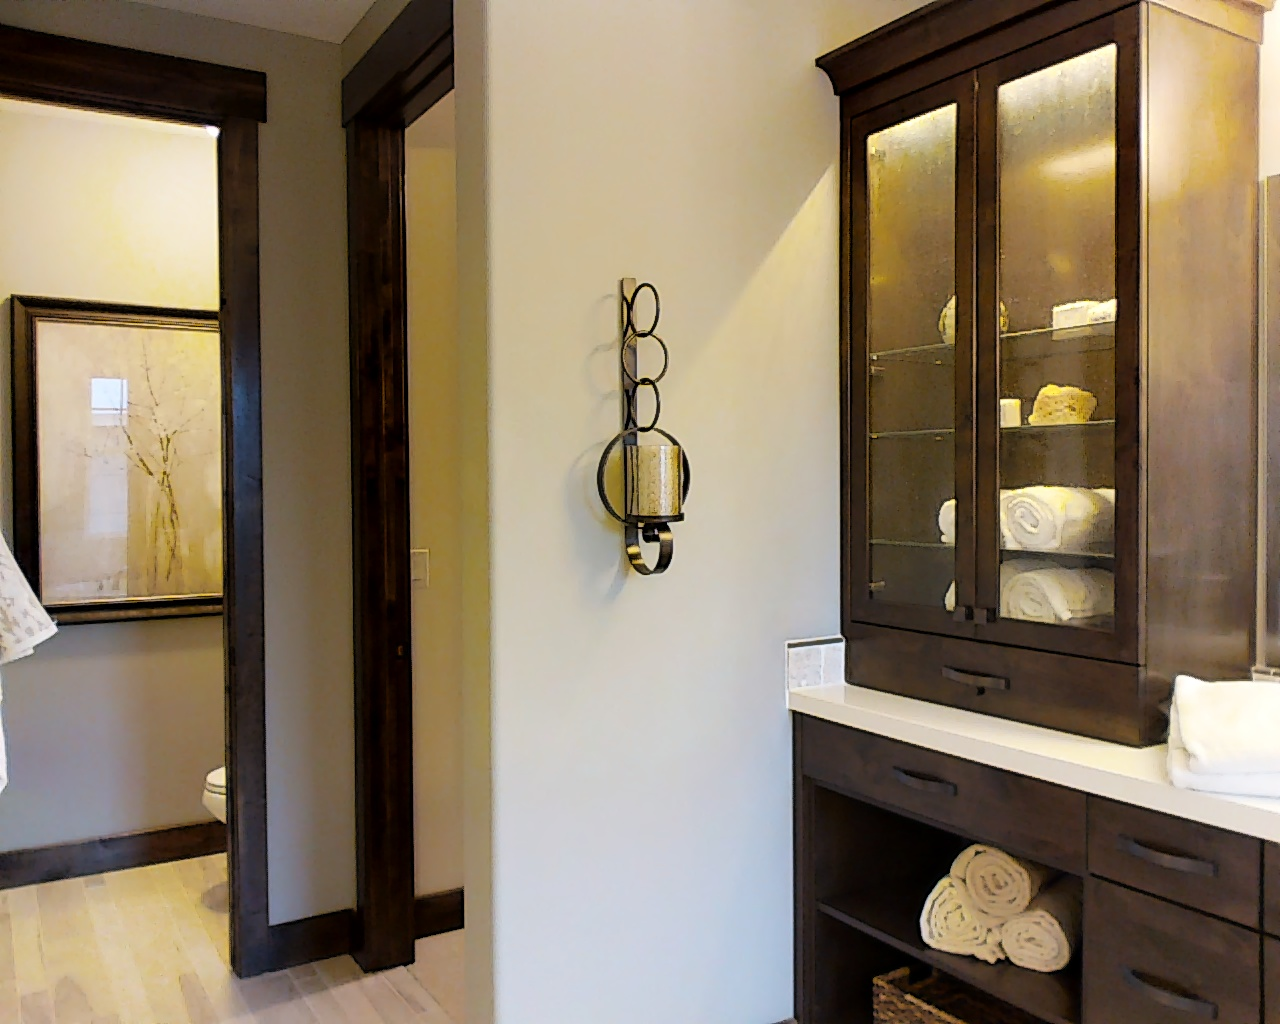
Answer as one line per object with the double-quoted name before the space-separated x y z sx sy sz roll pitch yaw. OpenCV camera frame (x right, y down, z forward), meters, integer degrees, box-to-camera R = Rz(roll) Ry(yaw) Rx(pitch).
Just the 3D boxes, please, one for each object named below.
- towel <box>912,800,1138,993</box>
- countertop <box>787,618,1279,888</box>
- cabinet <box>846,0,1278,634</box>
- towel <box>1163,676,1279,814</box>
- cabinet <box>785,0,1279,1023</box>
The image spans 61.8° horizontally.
"towel" 0.840 0.810 2.320 0.380 0.220 0.380 0 1 34
"countertop" 1.130 0.420 1.790 0.570 0.250 2.050 -1 1 -32
"cabinet" 0.880 -0.460 2.340 0.430 1.340 0.770 -1 1 -32
"towel" 1.080 0.380 1.750 0.400 0.140 0.360 0 1 26
"cabinet" 1.150 0.030 1.800 0.620 2.610 2.050 -1 1 -32
